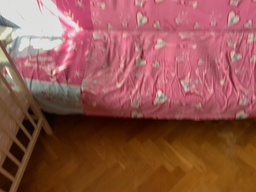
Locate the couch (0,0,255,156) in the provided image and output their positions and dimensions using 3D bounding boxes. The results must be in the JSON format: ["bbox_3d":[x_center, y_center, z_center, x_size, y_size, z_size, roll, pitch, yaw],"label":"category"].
[{"bbox_3d":[-0.030,-0.380,1.410,2.250,1.050,1.060,3,51,3],"label":"couch"}]
